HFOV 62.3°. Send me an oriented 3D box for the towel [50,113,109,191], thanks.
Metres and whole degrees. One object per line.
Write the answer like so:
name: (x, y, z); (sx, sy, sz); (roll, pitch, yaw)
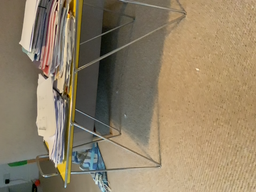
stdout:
towel: (-0.400, 0.410, 1.570); (0.740, 0.160, 0.340); (25, 113, 53)
